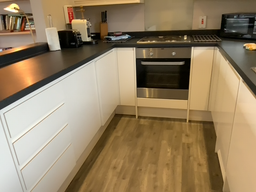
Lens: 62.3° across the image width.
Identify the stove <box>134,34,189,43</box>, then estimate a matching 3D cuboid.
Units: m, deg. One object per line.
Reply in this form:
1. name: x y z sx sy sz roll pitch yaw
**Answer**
1. stove: 0.420 -0.680 2.510 0.580 0.020 0.570 3 23 14
